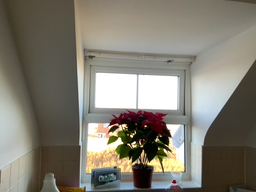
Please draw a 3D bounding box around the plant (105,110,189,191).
[{"bbox_3d":[0.120,0.370,1.520,0.530,0.520,0.310,2,-4,-10],"label":"plant"}]
